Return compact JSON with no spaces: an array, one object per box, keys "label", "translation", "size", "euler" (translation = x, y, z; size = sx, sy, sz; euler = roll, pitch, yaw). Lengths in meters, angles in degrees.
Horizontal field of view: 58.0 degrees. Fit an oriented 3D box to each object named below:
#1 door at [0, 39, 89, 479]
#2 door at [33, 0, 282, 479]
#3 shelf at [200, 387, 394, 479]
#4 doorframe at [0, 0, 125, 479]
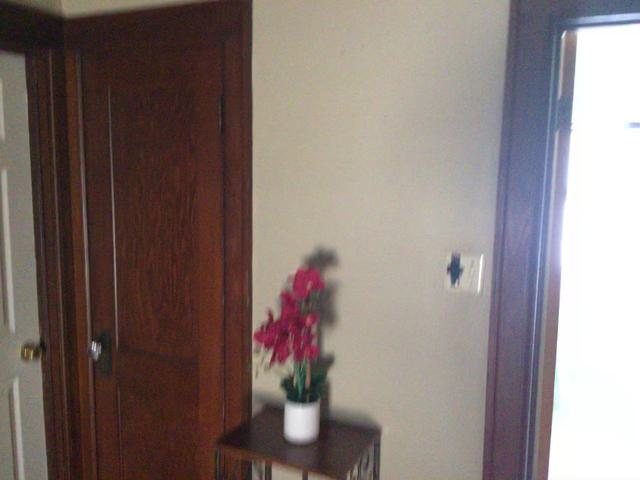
[{"label":"door","translation":[-1.210,0.310,1.910],"size":[0.140,1.910,0.880],"euler":[5,13,23]},{"label":"door","translation":[-0.560,0.250,2.110],"size":[0.820,2.110,0.210],"euler":[5,13,23]},{"label":"shelf","translation":[-0.060,0.960,1.840],"size":[0.480,0.810,0.360],"euler":[5,13,23]},{"label":"doorframe","translation":[-1.120,0.300,1.900],"size":[0.300,2.090,0.990],"euler":[5,9,23]}]
